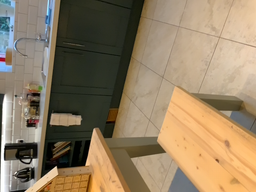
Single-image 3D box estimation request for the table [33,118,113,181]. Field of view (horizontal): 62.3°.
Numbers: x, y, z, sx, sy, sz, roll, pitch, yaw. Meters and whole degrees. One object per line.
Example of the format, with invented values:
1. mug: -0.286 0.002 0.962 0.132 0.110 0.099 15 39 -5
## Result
1. table: -0.800 0.700 3.000 0.610 0.920 0.540 47 127 53
